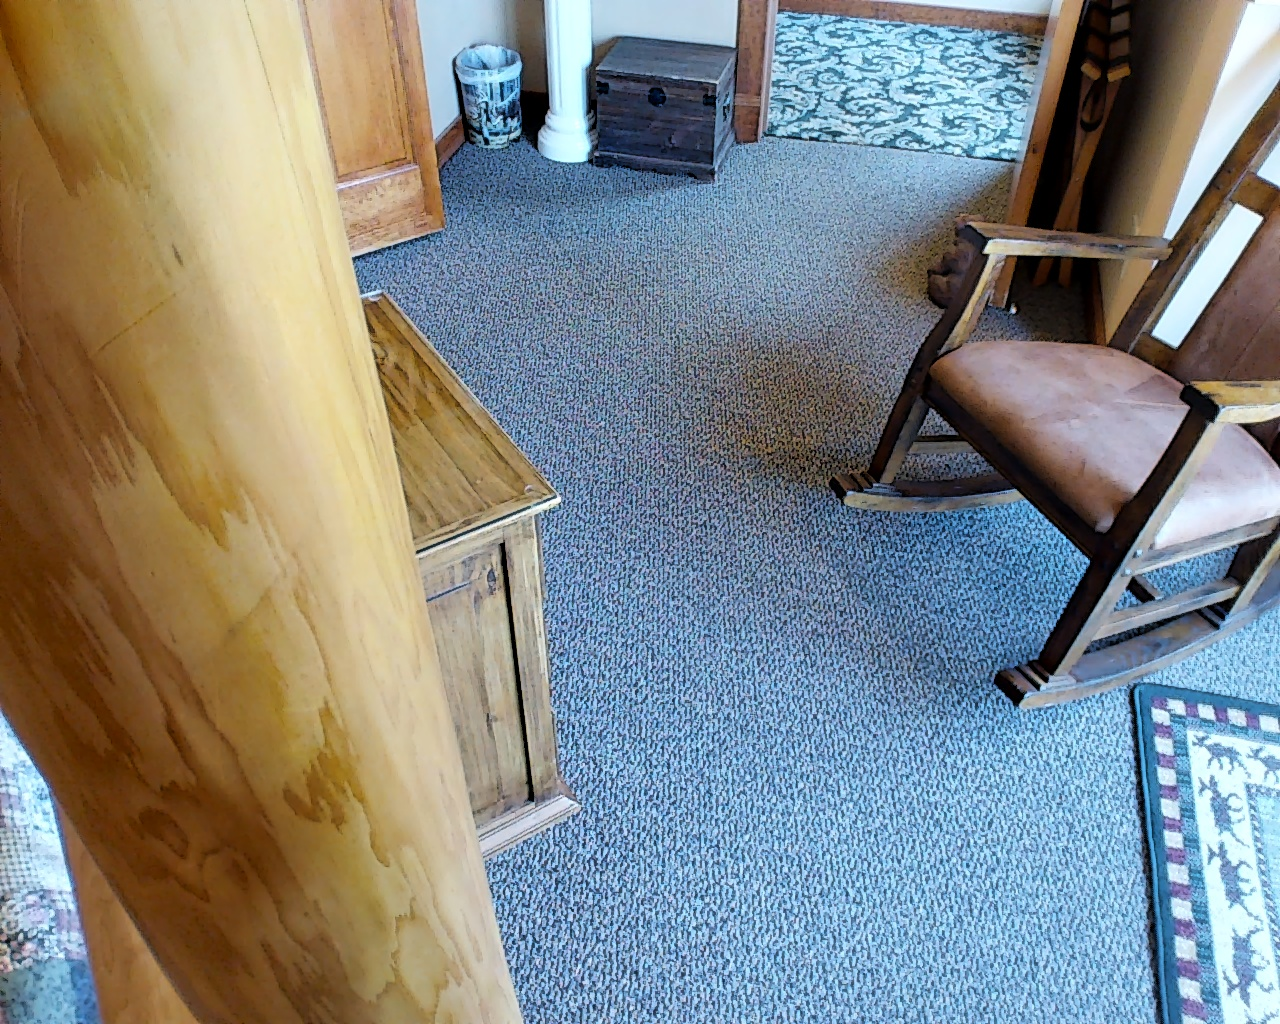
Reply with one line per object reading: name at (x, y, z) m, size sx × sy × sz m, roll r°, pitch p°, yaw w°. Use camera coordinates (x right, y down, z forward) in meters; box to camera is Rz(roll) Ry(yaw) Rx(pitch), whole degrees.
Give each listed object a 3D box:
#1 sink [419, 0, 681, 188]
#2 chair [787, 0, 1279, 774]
sink at (-0.260, -1.580, 3.350) m, size 0.680 × 0.880 × 0.530 m, roll 10°, pitch 44°, yaw 10°
chair at (0.940, -0.330, 1.860) m, size 1.040 × 1.120 × 0.690 m, roll -19°, pitch 47°, yaw -20°
